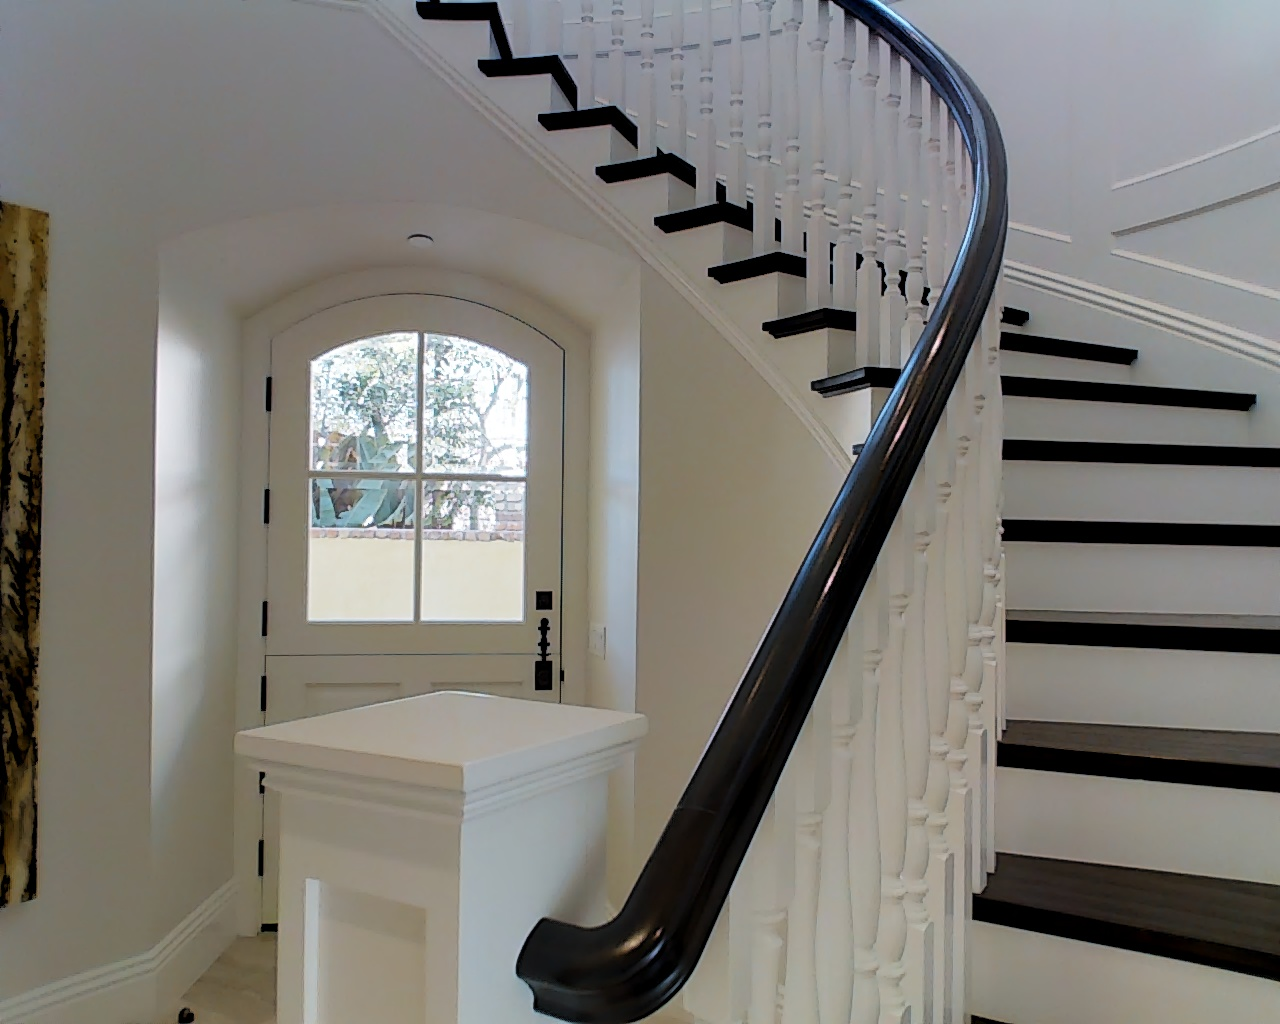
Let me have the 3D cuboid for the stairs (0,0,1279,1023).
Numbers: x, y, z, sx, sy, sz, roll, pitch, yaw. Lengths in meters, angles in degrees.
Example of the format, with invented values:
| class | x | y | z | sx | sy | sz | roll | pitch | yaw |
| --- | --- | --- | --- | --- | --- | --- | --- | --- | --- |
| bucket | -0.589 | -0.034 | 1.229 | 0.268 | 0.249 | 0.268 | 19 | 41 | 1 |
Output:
| class | x | y | z | sx | sy | sz | roll | pitch | yaw |
| --- | --- | --- | --- | --- | --- | --- | --- | --- | --- |
| stairs | -1.329 | 0.310 | 1.630 | 4.509 | 2.671 | 2.170 | 0 | -1 | 32 |
